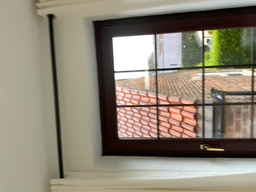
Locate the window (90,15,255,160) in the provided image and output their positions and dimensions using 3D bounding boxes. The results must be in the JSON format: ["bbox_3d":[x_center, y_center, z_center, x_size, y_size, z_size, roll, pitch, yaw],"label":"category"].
[{"bbox_3d":[0.530,-0.040,1.520,0.080,1.590,0.980,-35,-56,-79],"label":"window"}]
